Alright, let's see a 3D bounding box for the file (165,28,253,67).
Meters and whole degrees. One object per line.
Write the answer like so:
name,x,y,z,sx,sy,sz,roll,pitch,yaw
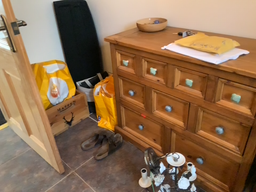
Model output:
file,0.400,-0.260,1.070,0.280,0.060,0.310,-27,39,-34
